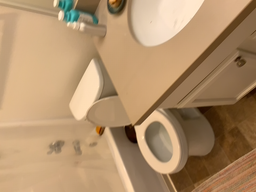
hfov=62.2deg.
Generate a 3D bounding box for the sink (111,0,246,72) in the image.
[{"bbox_3d":[0.170,-0.360,0.750,0.420,0.190,0.340,-52,53,39],"label":"sink"}]

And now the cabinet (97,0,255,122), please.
[{"bbox_3d":[0.450,-0.370,0.990,0.760,0.800,0.590,-53,52,38],"label":"cabinet"}]

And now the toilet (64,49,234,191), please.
[{"bbox_3d":[0.110,0.160,1.430,0.480,0.780,0.720,-53,52,38],"label":"toilet"}]
